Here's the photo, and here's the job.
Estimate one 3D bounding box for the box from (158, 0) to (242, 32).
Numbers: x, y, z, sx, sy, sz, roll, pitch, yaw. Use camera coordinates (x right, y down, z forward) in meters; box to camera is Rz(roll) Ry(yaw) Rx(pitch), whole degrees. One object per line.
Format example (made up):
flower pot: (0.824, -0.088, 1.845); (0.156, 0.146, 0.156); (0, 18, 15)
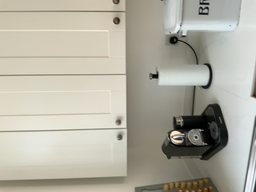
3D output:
box: (0.320, -0.470, 1.000); (0.310, 0.280, 0.320); (-104, 14, -73)
